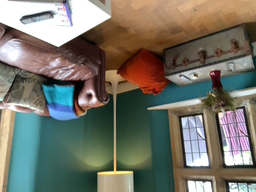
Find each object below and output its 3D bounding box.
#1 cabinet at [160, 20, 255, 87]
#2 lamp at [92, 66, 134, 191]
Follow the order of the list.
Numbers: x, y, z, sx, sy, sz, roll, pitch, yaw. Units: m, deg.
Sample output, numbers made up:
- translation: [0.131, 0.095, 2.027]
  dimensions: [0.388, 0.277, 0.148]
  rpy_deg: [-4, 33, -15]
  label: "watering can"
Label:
- translation: [0.940, -0.440, 2.530]
  dimensions: [0.940, 0.370, 0.530]
  rpy_deg: [-13, 161, 36]
  label: "cabinet"
- translation: [-0.210, 0.520, 3.160]
  dimensions: [0.520, 1.820, 0.540]
  rpy_deg: [-2, 165, 3]
  label: "lamp"
